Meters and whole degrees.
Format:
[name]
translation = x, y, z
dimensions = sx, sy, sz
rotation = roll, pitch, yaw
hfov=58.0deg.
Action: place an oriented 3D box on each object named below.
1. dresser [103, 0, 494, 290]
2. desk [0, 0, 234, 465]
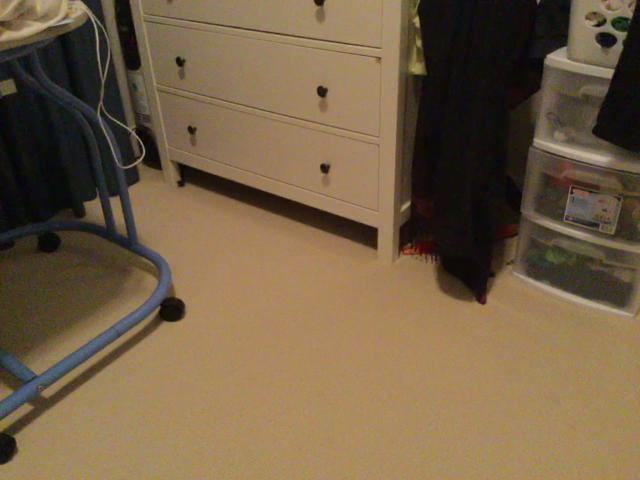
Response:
[dresser]
translation = -0.120, -0.710, 1.700
dimensions = 1.130, 1.350, 0.450
rotation = 21, 37, 33
[desk]
translation = -0.790, -0.130, 1.310
dimensions = 0.820, 0.800, 0.760
rotation = 22, 37, 34
